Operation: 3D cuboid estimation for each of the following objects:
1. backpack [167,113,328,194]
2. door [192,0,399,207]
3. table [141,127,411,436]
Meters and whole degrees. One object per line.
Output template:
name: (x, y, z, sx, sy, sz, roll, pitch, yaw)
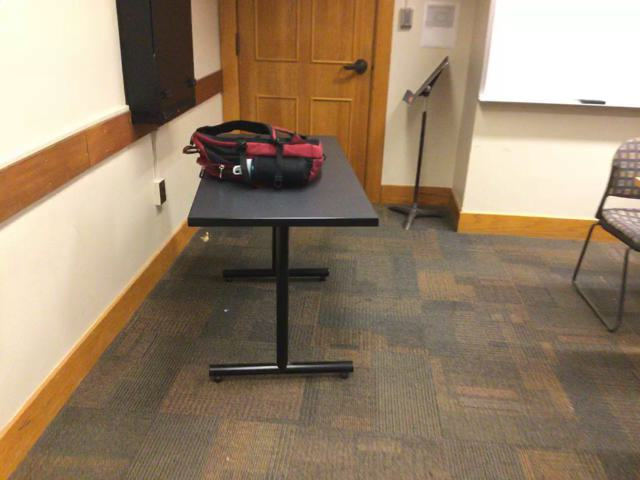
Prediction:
backpack: (-0.240, -0.320, 2.090, 0.500, 0.220, 0.330, 1, 21, 7)
door: (-0.120, -0.910, 3.740, 1.230, 1.360, 0.280, 1, 21, 7)
table: (-0.140, 0.050, 2.330, 0.760, 0.760, 1.210, -3, 21, -2)
